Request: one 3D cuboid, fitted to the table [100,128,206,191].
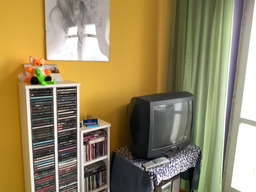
[{"bbox_3d":[0.200,0.780,1.820,0.680,0.760,0.540,-7,14,-40],"label":"table"}]

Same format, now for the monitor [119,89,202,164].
[{"bbox_3d":[0.260,0.200,1.690,0.570,0.440,0.310,-5,13,-35],"label":"monitor"}]
